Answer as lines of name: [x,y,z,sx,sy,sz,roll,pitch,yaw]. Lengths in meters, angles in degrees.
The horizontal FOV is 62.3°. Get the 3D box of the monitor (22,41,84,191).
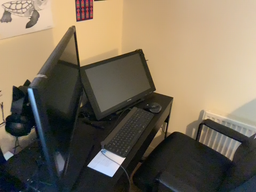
monitor: [-0.260,0.100,0.900,0.060,0.490,0.620,1,30,-5]

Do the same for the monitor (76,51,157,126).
monitor: [-0.040,-0.080,1.430,0.030,0.360,0.580,-15,7,46]

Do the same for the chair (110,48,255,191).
chair: [0.390,0.390,1.320,0.730,1.090,0.690,19,34,25]
